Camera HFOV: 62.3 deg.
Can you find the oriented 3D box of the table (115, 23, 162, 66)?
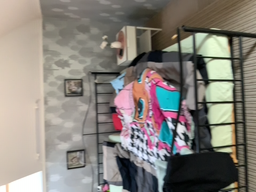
[{"bbox_3d":[0.140,-0.710,3.070,0.460,0.530,0.480,176,92,-70],"label":"table"}]
